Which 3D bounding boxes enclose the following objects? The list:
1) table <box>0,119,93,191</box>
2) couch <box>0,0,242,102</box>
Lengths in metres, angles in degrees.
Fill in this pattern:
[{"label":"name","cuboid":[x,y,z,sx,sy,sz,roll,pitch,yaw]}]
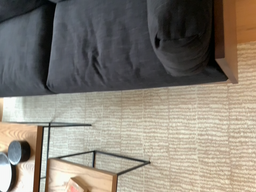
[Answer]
[{"label":"table","cuboid":[-0.610,0.420,1.480,0.510,0.470,0.470,2,86,31]},{"label":"couch","cuboid":[-0.470,-0.450,1.320,2.020,0.760,0.870,-3,84,30]}]
